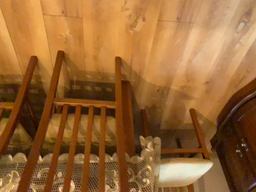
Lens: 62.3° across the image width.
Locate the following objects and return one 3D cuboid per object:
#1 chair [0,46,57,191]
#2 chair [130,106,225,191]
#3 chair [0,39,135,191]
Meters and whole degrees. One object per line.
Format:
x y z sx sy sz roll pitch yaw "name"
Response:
-0.710 0.270 1.060 0.420 0.970 0.570 1 137 -4 "chair"
0.300 0.640 1.530 0.470 0.980 0.590 0 138 -5 "chair"
-0.250 0.260 1.080 0.410 0.970 0.570 7 137 -11 "chair"
